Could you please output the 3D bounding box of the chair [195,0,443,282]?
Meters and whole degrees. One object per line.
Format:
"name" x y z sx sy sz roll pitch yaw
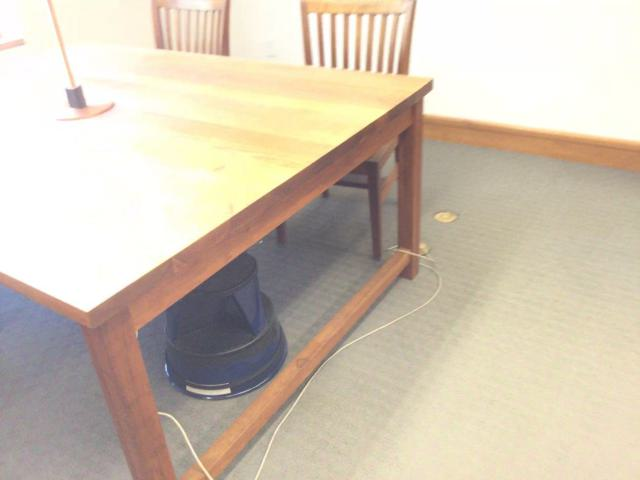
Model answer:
"chair" 0.050 -0.460 2.370 0.640 0.970 0.630 11 33 35

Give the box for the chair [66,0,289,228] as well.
"chair" -0.620 -0.630 2.700 0.590 0.920 0.560 11 33 35
